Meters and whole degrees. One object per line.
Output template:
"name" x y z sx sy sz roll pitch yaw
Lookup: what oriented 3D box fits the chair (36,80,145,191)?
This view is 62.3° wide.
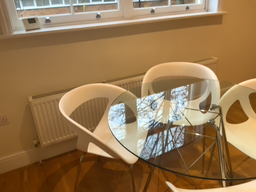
"chair" -0.170 0.350 1.510 0.530 0.780 0.550 2 25 10

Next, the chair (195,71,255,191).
"chair" 0.930 0.310 1.520 0.520 0.750 0.610 -14 27 -22
